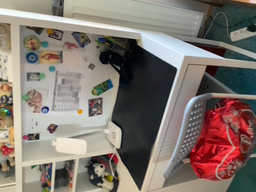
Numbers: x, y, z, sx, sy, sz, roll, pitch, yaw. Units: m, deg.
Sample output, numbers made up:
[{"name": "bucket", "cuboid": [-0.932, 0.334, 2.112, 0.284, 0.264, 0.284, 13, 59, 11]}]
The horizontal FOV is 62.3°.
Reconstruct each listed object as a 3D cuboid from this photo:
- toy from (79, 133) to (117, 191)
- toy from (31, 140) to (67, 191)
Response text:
[{"name": "toy", "cuboid": [-0.210, 0.430, 1.410, 0.260, 0.150, 0.240, 46, 130, 53]}, {"name": "toy", "cuboid": [-0.490, 0.430, 1.300, 0.170, 0.180, 0.250, 48, 131, 52]}]
